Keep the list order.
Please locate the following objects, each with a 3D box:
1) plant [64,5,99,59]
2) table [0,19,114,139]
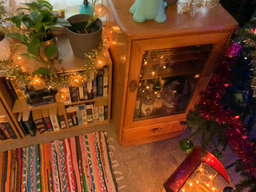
[{"bbox_3d":[-0.250,-0.350,1.140,0.150,0.170,0.240,-6,50,-12],"label":"plant"},{"bbox_3d":[-0.420,-0.090,1.410,0.570,0.680,0.370,-7,50,-12],"label":"table"}]
